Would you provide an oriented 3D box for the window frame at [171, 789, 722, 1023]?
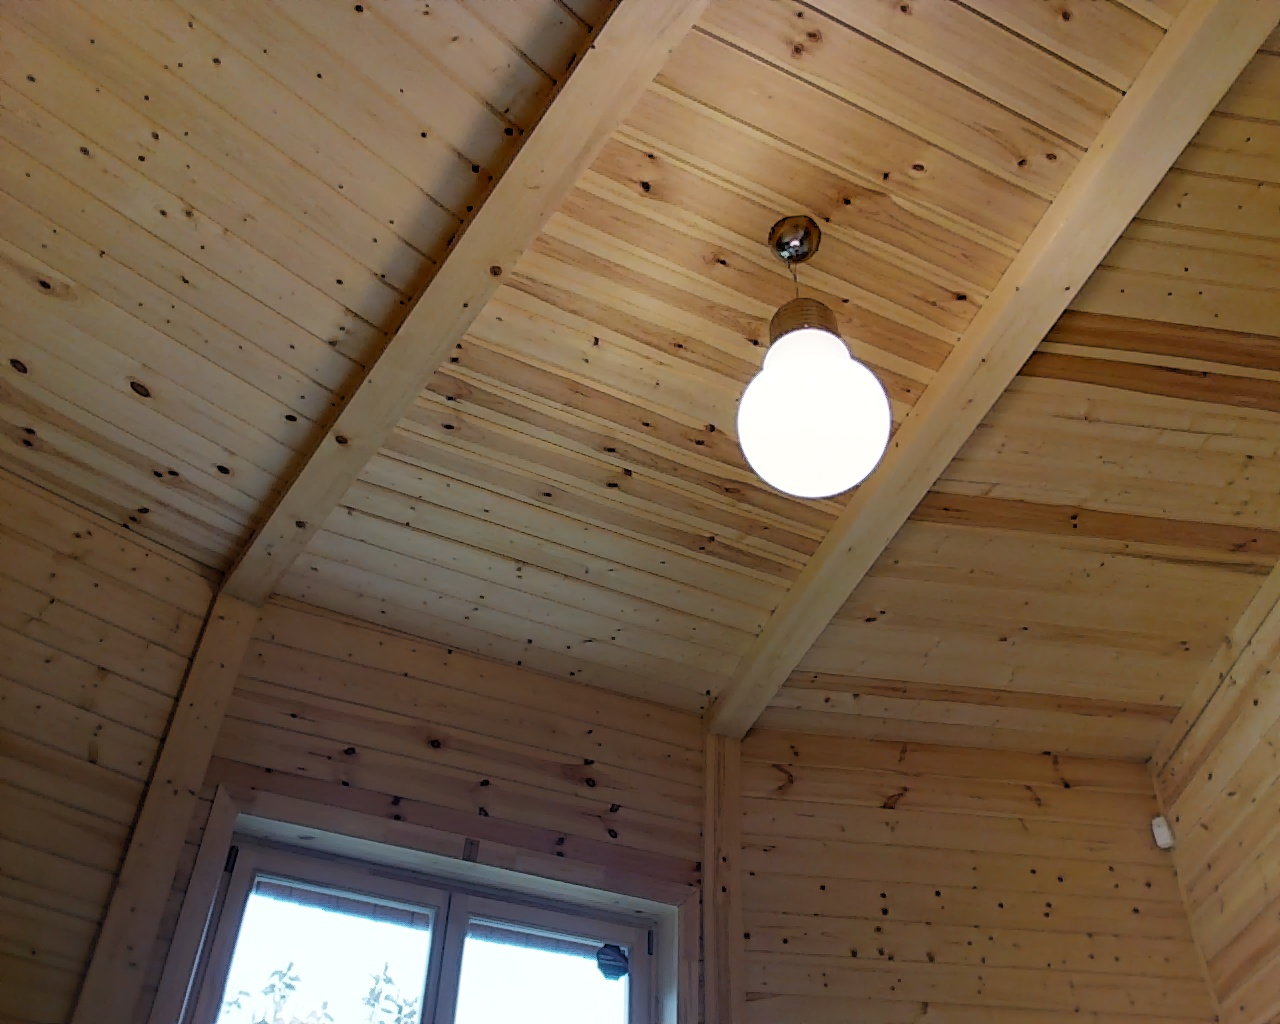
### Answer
[{"bbox_3d":[-0.540,1.660,3.080,1.590,1.400,0.300,17,-45,-16],"label":"window frame"}]

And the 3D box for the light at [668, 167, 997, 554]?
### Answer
[{"bbox_3d":[0.350,-0.350,2.280,0.380,0.440,0.760,15,31,-14],"label":"light"}]
